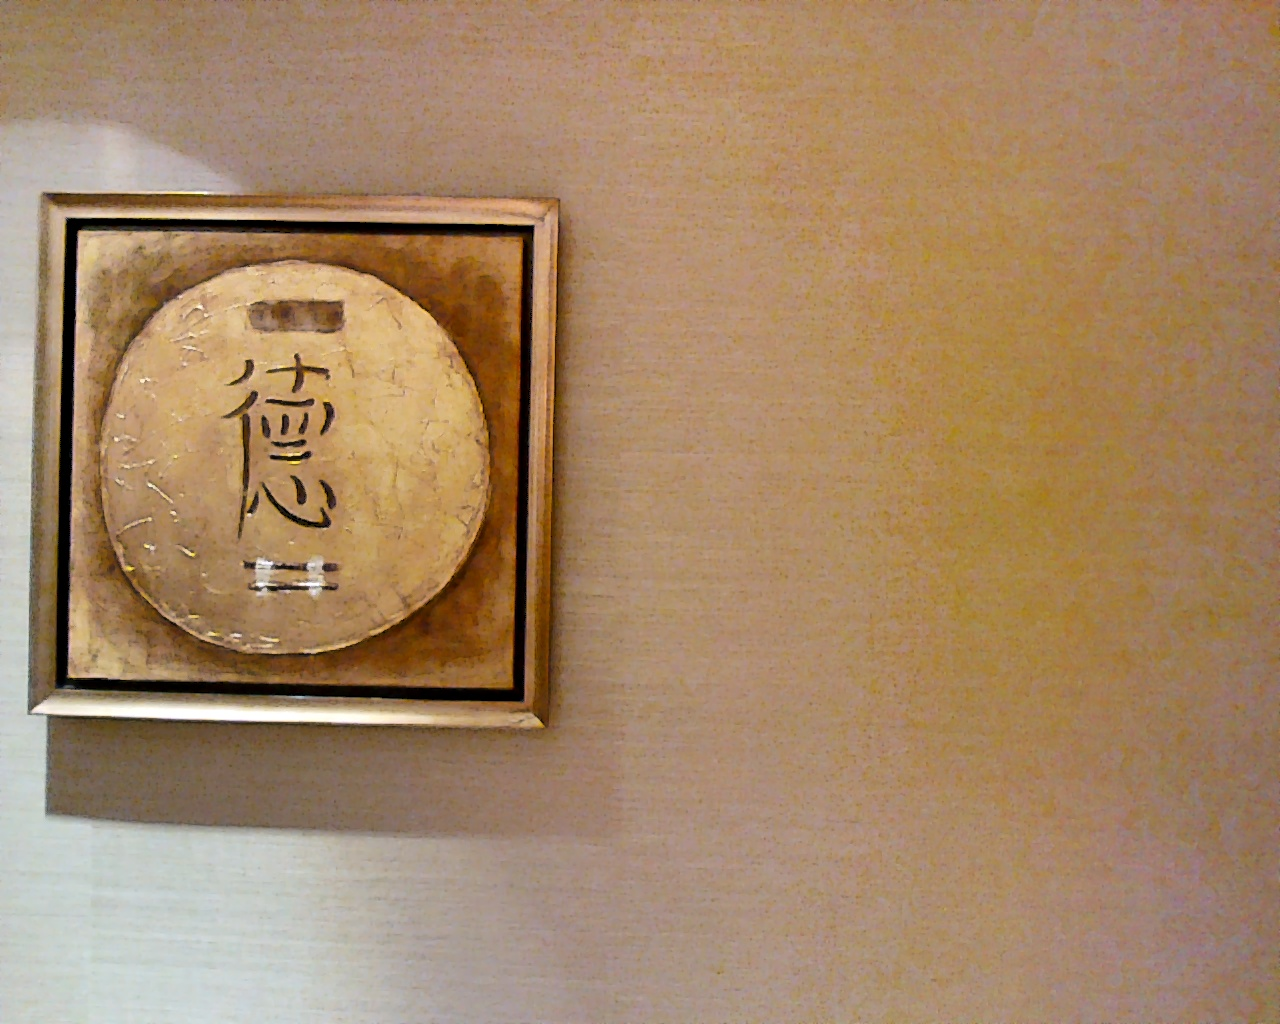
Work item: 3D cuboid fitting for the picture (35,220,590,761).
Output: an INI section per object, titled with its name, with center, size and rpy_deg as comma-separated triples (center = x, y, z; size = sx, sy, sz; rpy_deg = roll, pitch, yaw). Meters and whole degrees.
[picture]
center = -0.550, -0.040, 1.820
size = 0.900, 0.870, 0.070
rpy_deg = 2, 0, 2
